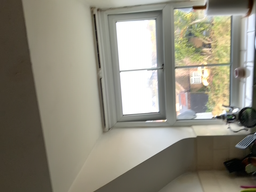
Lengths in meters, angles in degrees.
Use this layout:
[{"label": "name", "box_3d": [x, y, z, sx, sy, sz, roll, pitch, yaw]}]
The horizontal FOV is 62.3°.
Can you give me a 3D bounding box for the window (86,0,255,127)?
[{"label": "window", "box_3d": [0.300, -0.220, 1.550, 0.160, 1.100, 0.870, -67, -26, -74]}]
